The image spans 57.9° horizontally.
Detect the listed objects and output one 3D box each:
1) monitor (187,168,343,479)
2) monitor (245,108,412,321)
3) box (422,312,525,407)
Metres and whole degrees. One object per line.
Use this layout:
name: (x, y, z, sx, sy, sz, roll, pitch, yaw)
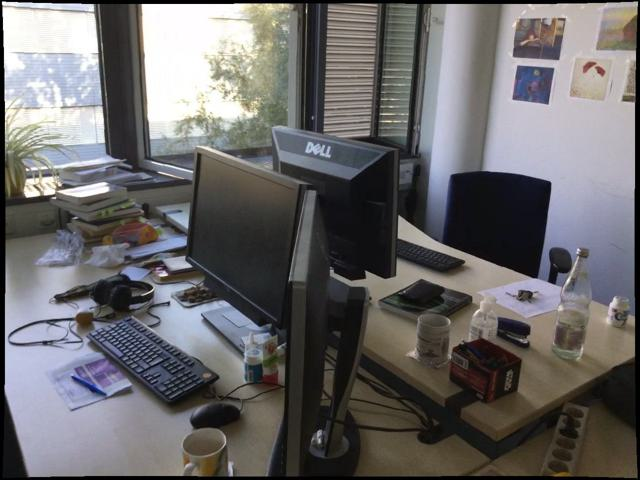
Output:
monitor: (-0.090, 0.170, 1.160, 0.210, 0.470, 0.630, -1, 22, -3)
monitor: (0.000, -0.110, 1.750, 0.210, 0.470, 0.560, -13, 26, -30)
box: (0.350, 0.270, 1.340, 0.120, 0.110, 0.190, -13, 26, -30)
